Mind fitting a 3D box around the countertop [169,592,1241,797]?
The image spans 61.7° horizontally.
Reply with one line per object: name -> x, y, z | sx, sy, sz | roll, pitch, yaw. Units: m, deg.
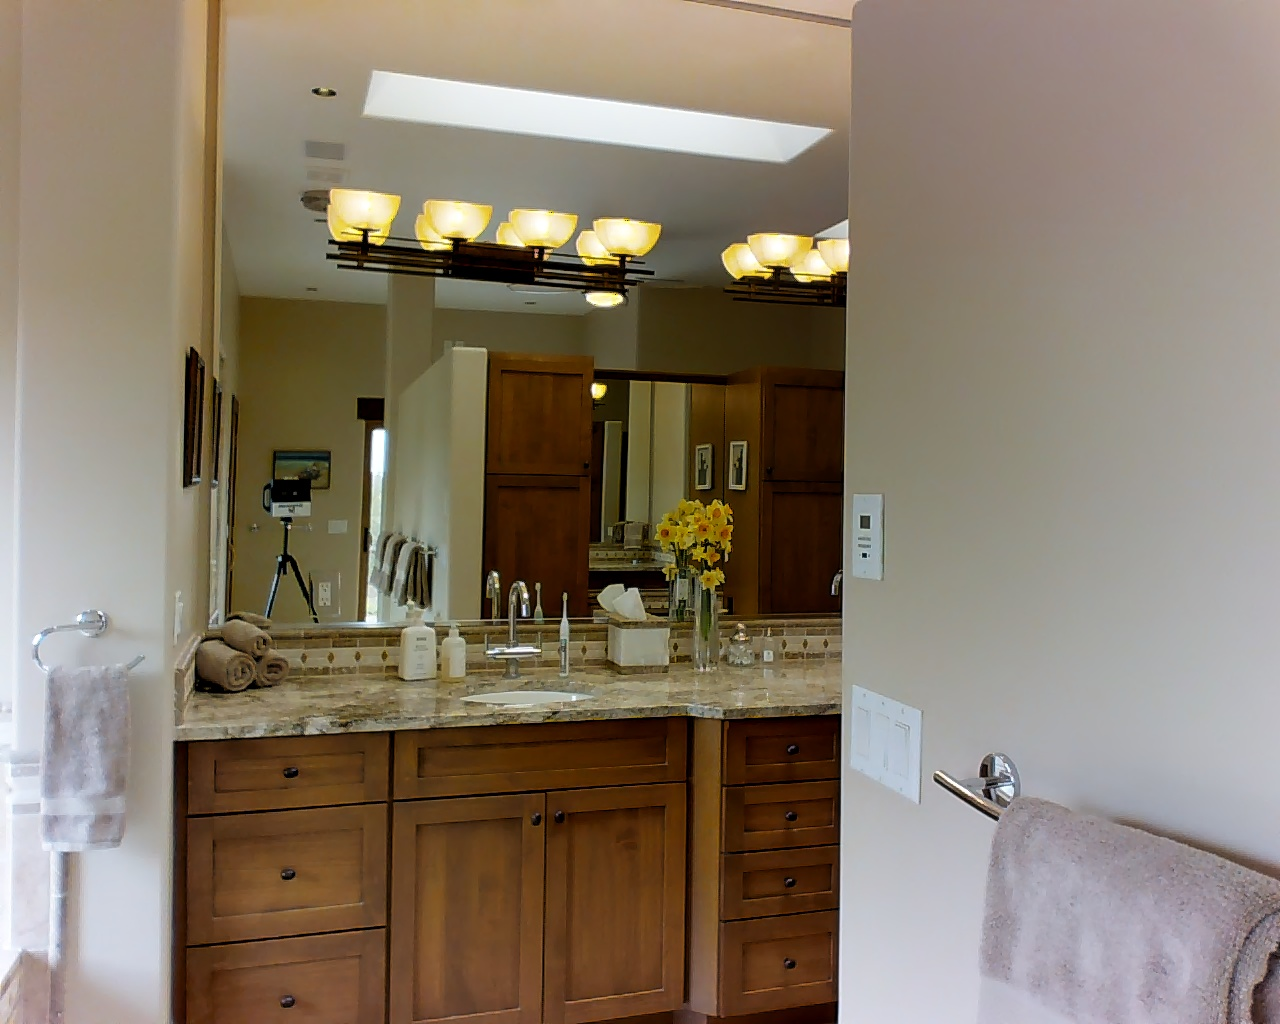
countertop -> 0.290, 0.450, 3.110 | 2.979, 0.340, 0.740 | 1, 0, -19
